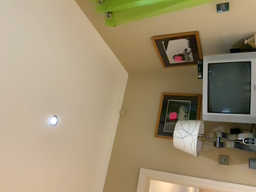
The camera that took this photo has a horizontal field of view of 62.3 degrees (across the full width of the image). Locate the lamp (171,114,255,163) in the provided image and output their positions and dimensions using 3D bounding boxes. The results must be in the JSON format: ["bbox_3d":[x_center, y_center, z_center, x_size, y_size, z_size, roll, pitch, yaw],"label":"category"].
[{"bbox_3d":[0.810,0.370,1.860,0.300,0.780,0.300,48,-132,-55],"label":"lamp"}]
